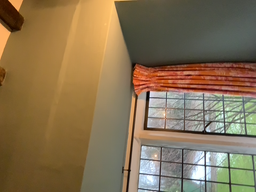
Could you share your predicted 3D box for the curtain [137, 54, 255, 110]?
[{"bbox_3d":[0.760,-0.140,2.110,0.450,1.270,0.340,70,-155,-61],"label":"curtain"}]
